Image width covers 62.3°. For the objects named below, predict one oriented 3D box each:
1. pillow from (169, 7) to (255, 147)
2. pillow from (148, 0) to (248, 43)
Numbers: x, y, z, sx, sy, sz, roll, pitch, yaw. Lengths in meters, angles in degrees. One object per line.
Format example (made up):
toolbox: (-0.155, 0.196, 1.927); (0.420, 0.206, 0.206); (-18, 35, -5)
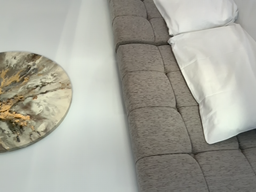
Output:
pillow: (0.500, -0.130, 1.070); (0.130, 0.430, 0.690); (76, -175, -60)
pillow: (0.390, -0.690, 1.430); (0.140, 0.490, 0.680); (71, -170, -53)
